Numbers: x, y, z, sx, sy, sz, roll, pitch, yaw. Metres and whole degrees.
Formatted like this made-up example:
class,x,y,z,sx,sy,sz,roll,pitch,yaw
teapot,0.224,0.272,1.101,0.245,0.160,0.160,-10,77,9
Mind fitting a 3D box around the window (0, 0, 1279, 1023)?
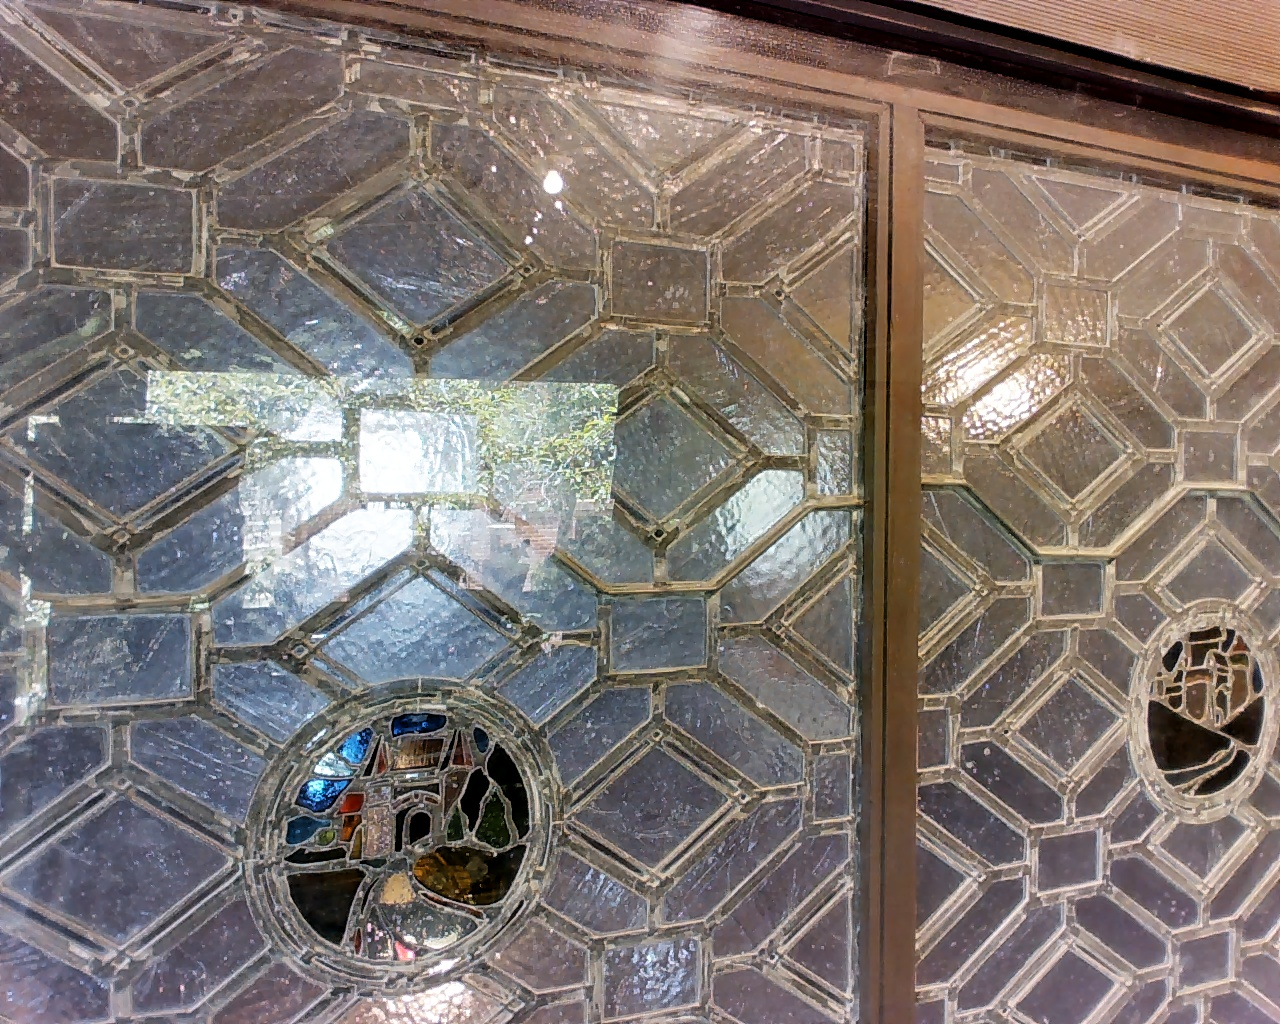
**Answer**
class,x,y,z,sx,sy,sz,roll,pitch,yaw
window,0.620,0.510,1.110,2.560,1.810,0.070,0,1,-24
